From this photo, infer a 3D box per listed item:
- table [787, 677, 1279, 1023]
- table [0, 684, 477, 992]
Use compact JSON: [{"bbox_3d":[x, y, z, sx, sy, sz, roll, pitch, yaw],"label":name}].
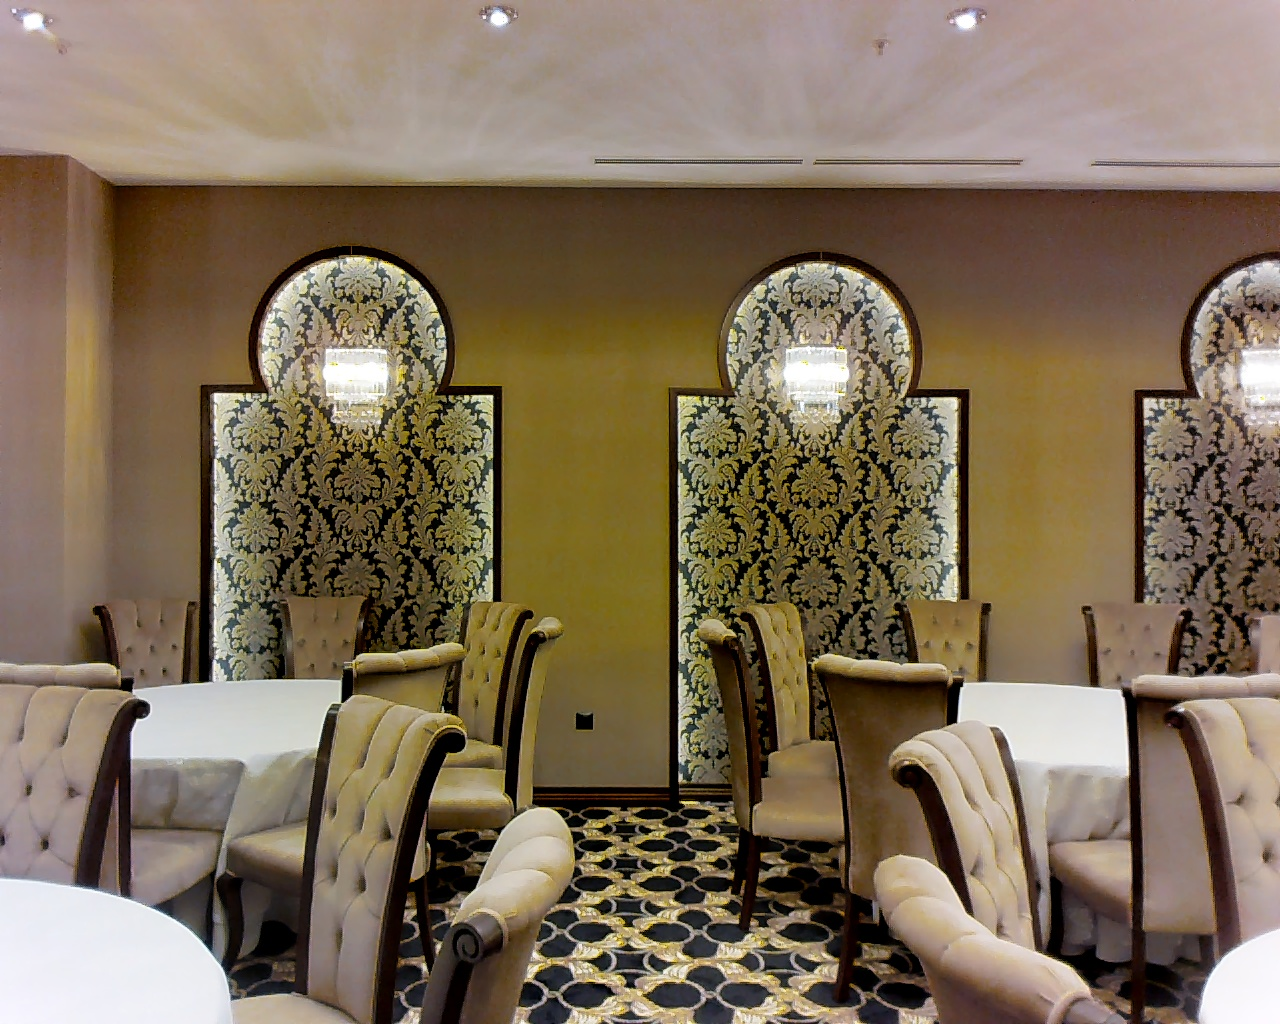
[{"bbox_3d":[1.679,1.181,4.200,1.580,0.730,1.540,0,0,45],"label":"table"},{"bbox_3d":[-1.519,1.181,4.270,1.519,0.740,1.580,0,0,-1],"label":"table"}]
